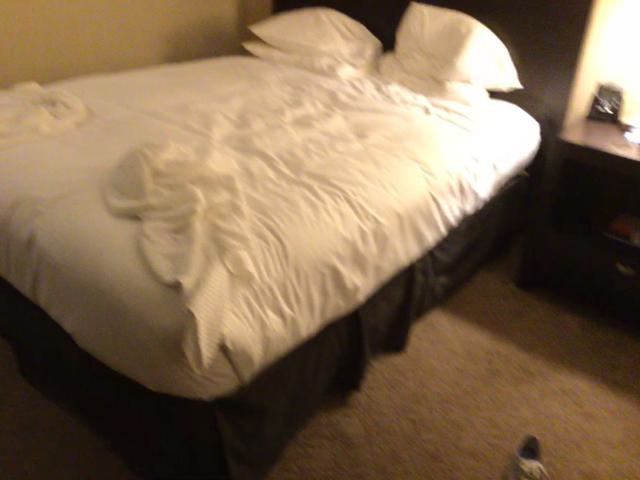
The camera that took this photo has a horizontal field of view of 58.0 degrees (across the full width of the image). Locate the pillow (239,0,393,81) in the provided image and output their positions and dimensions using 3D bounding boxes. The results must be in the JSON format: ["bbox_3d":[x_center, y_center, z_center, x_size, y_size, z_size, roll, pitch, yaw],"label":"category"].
[{"bbox_3d":[-0.030,-0.990,2.800,0.610,0.240,0.400,25,34,30],"label":"pillow"}]

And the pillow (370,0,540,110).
[{"bbox_3d":[0.560,-0.820,2.500,0.630,0.320,0.220,25,34,30],"label":"pillow"}]

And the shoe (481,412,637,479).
[{"bbox_3d":[0.580,0.670,1.470,0.310,0.070,0.460,25,34,30],"label":"shoe"}]
